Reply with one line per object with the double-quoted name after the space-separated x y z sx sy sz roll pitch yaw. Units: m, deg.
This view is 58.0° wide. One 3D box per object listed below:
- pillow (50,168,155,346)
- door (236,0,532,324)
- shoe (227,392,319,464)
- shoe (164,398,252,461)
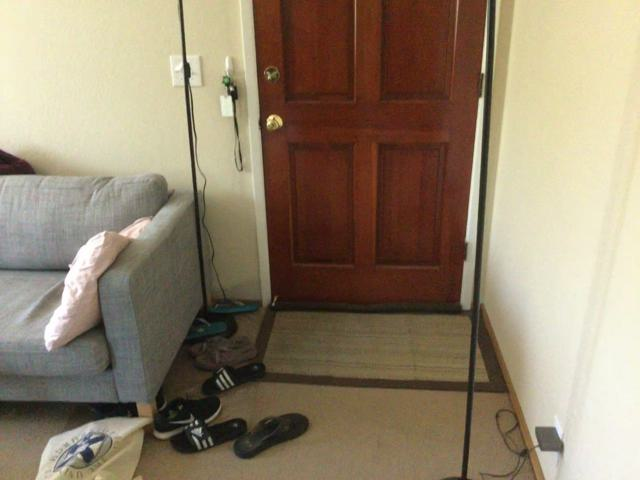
-0.730 0.090 2.030 0.180 0.620 0.400 7 65 -8 "pillow"
0.220 -0.630 2.280 1.060 2.020 0.210 3 22 2 "door"
-0.160 0.640 1.990 0.280 0.070 0.150 -14 27 -34 "shoe"
-0.380 0.640 1.970 0.260 0.060 0.140 -11 25 -30 "shoe"
